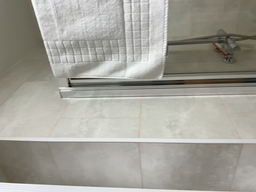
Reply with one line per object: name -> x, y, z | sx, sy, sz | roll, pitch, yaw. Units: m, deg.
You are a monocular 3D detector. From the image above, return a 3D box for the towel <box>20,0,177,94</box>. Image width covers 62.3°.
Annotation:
towel -> -0.090, -0.270, 0.740 | 0.100, 0.500, 0.540 | -80, -13, -58
